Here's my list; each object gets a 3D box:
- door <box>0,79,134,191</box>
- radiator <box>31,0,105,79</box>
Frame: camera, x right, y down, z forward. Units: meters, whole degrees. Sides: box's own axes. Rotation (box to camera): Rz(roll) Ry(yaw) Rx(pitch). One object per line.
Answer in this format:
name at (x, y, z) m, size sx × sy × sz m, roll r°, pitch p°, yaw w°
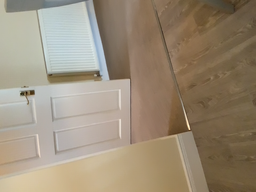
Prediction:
door at (-0.840, 0.360, 1.870) m, size 0.080 × 1.990 × 0.870 m, roll 26°, pitch 119°, yaw 58°
radiator at (-0.730, -0.770, 2.550) m, size 0.130 × 0.690 × 1.100 m, roll -34°, pitch 67°, yaw 60°
